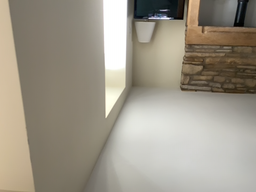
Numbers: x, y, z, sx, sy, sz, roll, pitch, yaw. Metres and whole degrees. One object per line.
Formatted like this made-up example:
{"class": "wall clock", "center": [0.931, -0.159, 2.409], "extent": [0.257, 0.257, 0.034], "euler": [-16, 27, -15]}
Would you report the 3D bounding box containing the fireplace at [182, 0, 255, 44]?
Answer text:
{"class": "fireplace", "center": [1.890, -1.620, 3.320], "extent": [1.820, 1.540, 0.600], "euler": [4, -163, 6]}
